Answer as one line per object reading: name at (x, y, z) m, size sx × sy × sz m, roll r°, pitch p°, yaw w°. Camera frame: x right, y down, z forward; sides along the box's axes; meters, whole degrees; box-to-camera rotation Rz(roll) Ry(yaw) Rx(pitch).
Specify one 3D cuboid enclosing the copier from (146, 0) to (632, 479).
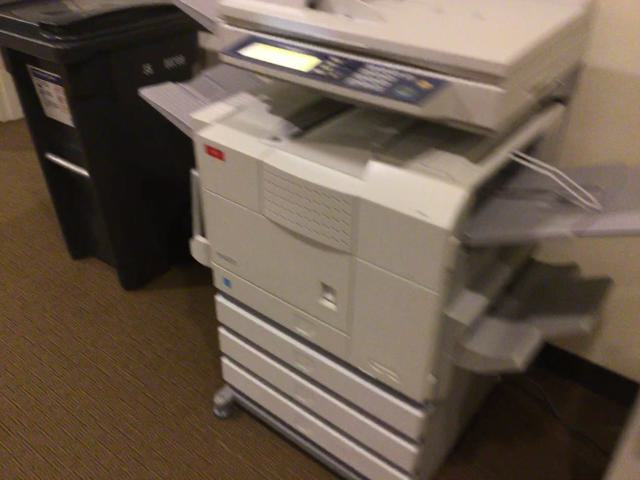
copier at (0.130, -0.030, 1.370) m, size 0.660 × 1.100 × 0.650 m, roll 26°, pitch 41°, yaw 30°
